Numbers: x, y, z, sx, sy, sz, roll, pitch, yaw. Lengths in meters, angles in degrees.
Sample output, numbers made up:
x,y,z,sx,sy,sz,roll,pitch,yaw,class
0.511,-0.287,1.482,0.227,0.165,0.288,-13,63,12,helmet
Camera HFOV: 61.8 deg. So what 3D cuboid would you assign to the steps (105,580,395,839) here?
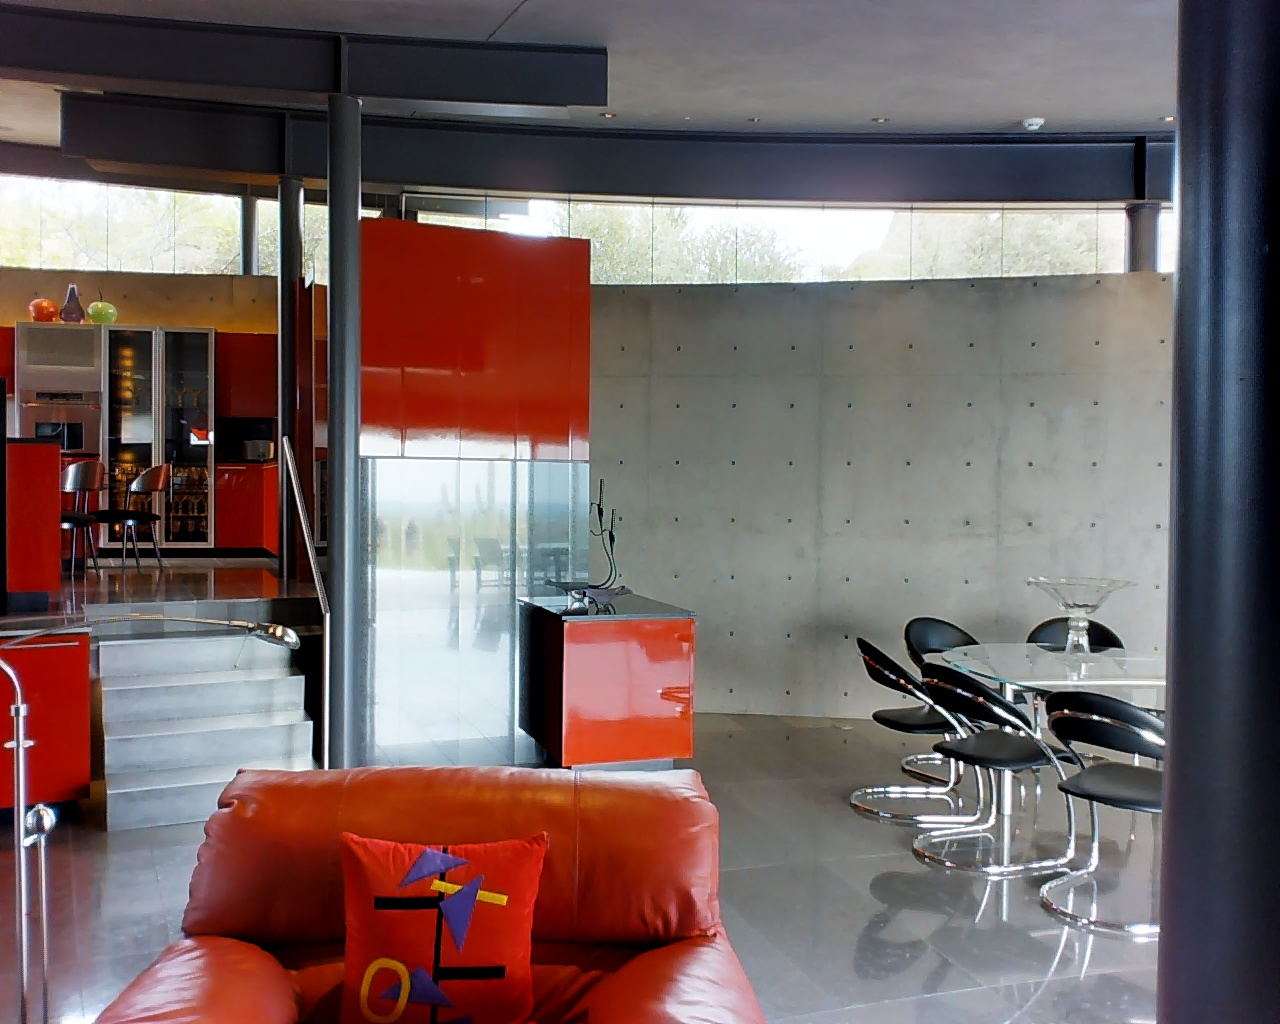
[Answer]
x,y,z,sx,sy,sz,roll,pitch,yaw,class
-2.120,0.940,5.680,1.230,0.970,1.450,0,3,-29,steps
